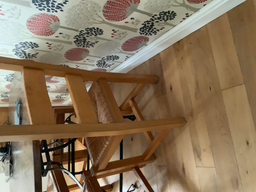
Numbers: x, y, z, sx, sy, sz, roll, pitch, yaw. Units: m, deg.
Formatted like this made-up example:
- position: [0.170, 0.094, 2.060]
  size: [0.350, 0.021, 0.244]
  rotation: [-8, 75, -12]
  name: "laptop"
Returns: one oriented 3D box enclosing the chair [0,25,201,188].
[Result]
- position: [-0.220, 0.050, 1.120]
  size: [0.430, 1.010, 0.540]
  rotation: [57, 133, 38]
  name: "chair"
